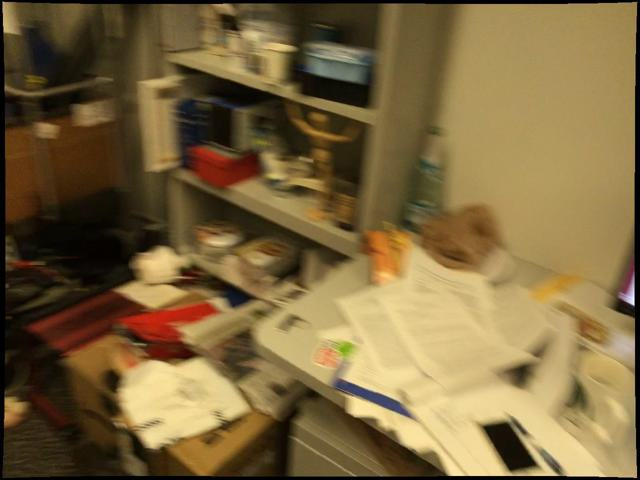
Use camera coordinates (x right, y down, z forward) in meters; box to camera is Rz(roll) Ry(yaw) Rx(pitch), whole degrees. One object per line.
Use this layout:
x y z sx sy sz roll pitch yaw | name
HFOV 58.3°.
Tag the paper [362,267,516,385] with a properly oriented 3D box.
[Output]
0.240 0.170 1.230 0.220 0.050 0.310 -1 32 -13 | paper
